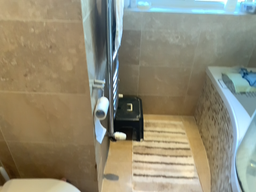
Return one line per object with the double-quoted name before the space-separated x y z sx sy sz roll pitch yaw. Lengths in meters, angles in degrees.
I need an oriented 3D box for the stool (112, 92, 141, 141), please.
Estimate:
"stool" -0.010 0.180 1.920 0.240 0.270 0.340 3 35 1
